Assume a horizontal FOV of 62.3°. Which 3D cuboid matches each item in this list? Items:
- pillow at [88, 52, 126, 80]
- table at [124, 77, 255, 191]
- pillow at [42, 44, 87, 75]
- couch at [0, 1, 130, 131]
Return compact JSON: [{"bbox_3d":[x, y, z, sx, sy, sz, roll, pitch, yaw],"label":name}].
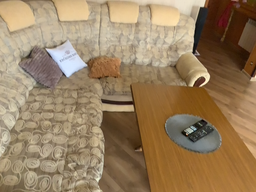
[{"bbox_3d":[-0.260,-0.360,2.490,0.400,0.140,0.410,1,34,-11],"label":"pillow"},{"bbox_3d":[0.390,0.460,1.610,0.710,0.620,1.240,4,34,-7],"label":"table"},{"bbox_3d":[-0.700,-0.400,2.390,0.270,0.310,0.410,7,9,28],"label":"pillow"},{"bbox_3d":[-0.710,-0.410,2.380,1.100,0.950,0.790,24,37,22],"label":"couch"}]
